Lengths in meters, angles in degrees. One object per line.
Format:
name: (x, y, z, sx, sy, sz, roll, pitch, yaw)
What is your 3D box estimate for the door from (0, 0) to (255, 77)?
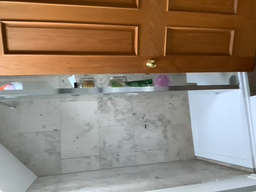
door: (0.000, -0.520, 1.450, 0.100, 2.000, 0.760, -131, 42, -68)
